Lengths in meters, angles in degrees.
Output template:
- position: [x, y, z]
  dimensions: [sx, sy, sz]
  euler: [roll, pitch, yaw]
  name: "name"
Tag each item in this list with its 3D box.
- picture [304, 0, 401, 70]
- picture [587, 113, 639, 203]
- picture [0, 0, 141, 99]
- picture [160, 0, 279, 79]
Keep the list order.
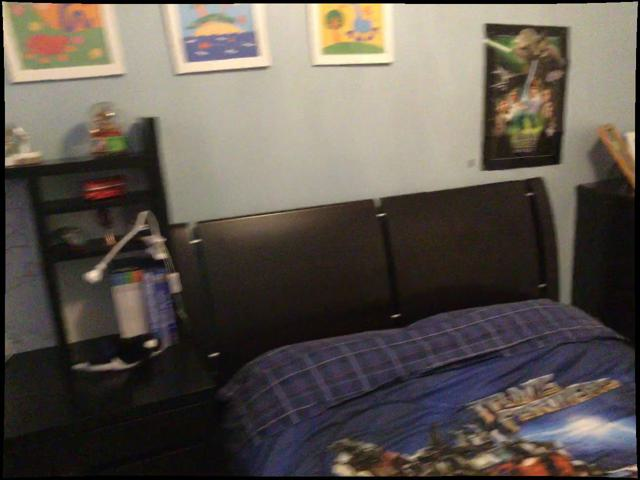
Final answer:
- position: [0.110, -0.741, 1.900]
  dimensions: [0.330, 0.330, 0.030]
  euler: [-10, 17, -21]
  name: "picture"
- position: [1.259, -0.340, 2.340]
  dimensions: [0.230, 0.310, 0.330]
  euler: [9, 20, 37]
  name: "picture"
- position: [-0.699, -0.581, 1.590]
  dimensions: [0.350, 0.350, 0.030]
  euler: [-10, 17, -21]
  name: "picture"
- position: [-0.300, -0.671, 1.740]
  dimensions: [0.340, 0.340, 0.020]
  euler: [-10, 17, -21]
  name: "picture"
